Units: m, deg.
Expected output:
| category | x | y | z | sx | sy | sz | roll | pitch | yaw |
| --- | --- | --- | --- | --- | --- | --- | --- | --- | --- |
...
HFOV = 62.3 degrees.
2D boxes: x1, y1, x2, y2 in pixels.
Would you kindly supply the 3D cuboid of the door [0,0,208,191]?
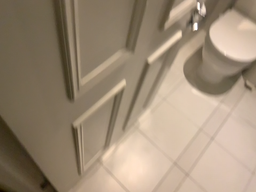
| category | x | y | z | sx | sy | sz | roll | pitch | yaw |
| --- | --- | --- | --- | --- | --- | --- | --- | --- | --- |
| door | 0.060 | -0.200 | 0.510 | 0.030 | 1.980 | 0.830 | 39 | 60 | 13 |
